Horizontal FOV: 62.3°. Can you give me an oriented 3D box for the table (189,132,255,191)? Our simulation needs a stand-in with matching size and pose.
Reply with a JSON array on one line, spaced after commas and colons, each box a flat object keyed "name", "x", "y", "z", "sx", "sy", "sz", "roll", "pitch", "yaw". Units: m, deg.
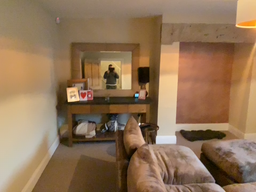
[{"name": "table", "x": 1.490, "y": 0.890, "z": 2.880, "sx": 0.880, "sy": 0.440, "sz": 0.980, "roll": -1, "pitch": 11, "yaw": -12}]
